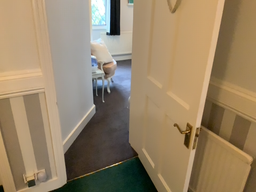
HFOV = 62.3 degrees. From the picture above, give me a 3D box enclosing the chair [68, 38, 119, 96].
[{"bbox_3d":[-0.560,-0.540,3.790,0.750,0.850,0.680,2,24,1],"label":"chair"}]
